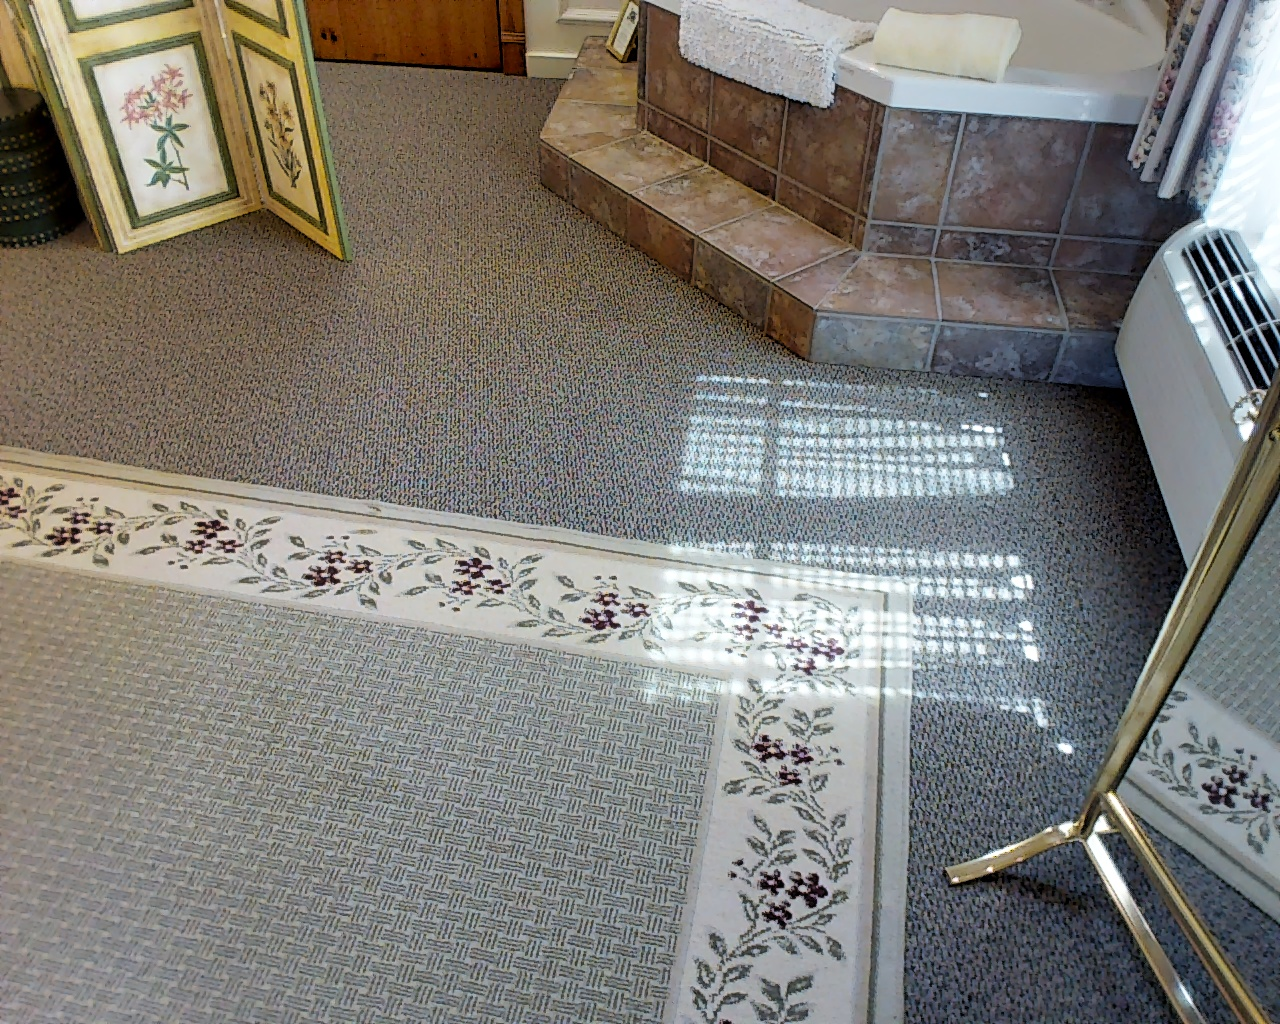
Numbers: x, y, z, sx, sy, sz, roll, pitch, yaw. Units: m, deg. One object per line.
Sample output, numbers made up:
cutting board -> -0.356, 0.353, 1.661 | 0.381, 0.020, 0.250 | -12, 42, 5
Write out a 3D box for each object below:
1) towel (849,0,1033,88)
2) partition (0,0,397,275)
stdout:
towel -> 0.730, -1.160, 2.610 | 0.390, 0.120, 0.240 | 13, 44, 12
partition -> -1.520, -1.650, 2.650 | 1.480, 2.000, 0.470 | 6, 43, 5
